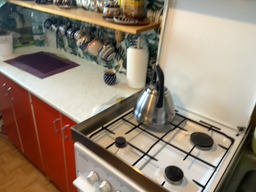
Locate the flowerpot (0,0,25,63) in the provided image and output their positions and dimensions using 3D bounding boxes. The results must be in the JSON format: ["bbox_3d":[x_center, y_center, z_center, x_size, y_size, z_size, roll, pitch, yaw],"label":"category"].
[{"bbox_3d":[-0.960,-0.500,1.610,0.250,0.420,0.170,26,35,32],"label":"flowerpot"}]

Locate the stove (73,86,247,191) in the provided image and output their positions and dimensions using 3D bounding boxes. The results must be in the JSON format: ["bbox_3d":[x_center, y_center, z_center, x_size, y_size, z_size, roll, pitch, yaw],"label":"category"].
[{"bbox_3d":[0.150,0.210,0.940,0.520,0.190,0.550,26,35,32],"label":"stove"}]
